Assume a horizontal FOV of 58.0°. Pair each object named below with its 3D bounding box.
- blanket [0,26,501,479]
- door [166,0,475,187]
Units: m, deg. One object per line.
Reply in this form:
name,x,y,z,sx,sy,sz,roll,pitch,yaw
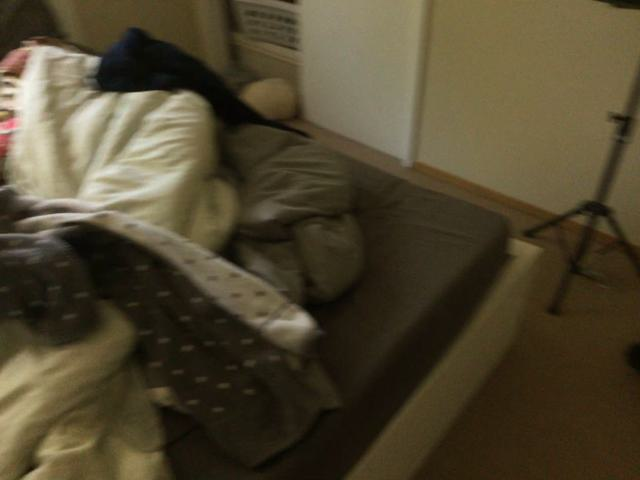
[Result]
blanket,-0.350,-0.030,1.190,0.900,0.300,1.280,25,46,30
door,-0.080,-1.360,2.070,1.350,2.080,0.340,25,46,30
